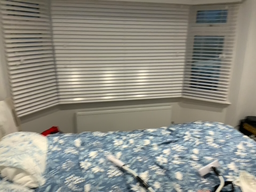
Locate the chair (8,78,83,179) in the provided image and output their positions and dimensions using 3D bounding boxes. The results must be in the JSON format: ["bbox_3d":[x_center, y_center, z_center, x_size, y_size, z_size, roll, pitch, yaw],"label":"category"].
[{"bbox_3d":[-0.840,0.320,2.320,0.620,0.940,0.450,-3,18,-13],"label":"chair"}]
